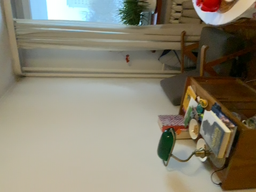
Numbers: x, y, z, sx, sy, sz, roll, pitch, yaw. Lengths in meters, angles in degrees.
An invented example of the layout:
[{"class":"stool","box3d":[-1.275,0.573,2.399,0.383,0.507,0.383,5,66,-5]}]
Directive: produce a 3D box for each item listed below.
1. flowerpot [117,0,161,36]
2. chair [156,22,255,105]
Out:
[{"class":"flowerpot","box3d":[0.120,-1.000,2.550,0.320,0.450,0.480,-110,21,-66]},{"class":"chair","box3d":[0.800,-0.350,2.300,0.500,0.800,0.750,-106,18,-62]}]
